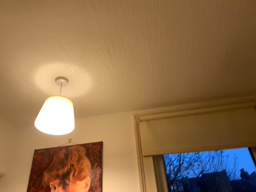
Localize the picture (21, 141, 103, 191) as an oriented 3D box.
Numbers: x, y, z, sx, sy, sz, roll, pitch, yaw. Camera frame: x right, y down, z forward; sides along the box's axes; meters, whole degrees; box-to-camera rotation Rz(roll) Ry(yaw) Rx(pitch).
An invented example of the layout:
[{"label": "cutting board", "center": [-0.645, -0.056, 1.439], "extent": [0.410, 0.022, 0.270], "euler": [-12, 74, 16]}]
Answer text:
[{"label": "picture", "center": [-0.510, 0.760, 1.610], "extent": [0.640, 0.760, 0.070], "euler": [-10, -36, 7]}]

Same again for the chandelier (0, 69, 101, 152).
[{"label": "chandelier", "center": [-0.540, 0.130, 1.580], "extent": [0.560, 0.370, 0.390], "euler": [-13, -36, 11]}]
